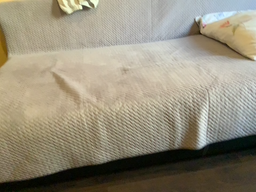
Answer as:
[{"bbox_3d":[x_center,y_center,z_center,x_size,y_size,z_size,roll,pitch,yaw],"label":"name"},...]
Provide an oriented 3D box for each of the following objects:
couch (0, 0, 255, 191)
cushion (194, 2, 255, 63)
[{"bbox_3d":[0.280,-0.210,1.210,2.020,0.740,0.980,-8,29,-5],"label":"couch"},{"bbox_3d":[0.850,-0.410,1.210,0.710,0.170,0.600,-8,29,-5],"label":"cushion"}]
